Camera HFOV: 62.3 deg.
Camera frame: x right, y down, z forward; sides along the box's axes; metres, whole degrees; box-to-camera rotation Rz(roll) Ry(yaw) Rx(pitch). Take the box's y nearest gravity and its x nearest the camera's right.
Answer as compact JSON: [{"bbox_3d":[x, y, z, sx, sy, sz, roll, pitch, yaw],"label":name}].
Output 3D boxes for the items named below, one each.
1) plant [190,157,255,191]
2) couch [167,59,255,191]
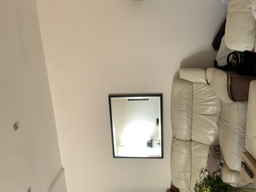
[{"bbox_3d":[0.780,0.720,1.730,0.330,0.470,0.290,-72,-20,-71],"label":"plant"},{"bbox_3d":[1.080,0.700,2.830,1.010,1.020,2.210,-71,-21,-72],"label":"couch"}]
